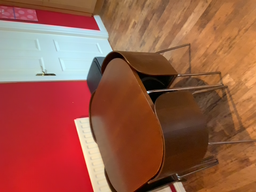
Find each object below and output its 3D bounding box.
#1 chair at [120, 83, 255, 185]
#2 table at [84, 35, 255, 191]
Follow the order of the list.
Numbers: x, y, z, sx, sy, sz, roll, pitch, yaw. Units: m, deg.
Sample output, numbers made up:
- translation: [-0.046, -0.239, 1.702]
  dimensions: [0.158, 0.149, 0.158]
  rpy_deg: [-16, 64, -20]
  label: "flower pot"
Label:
- translation: [0.420, 0.220, 1.420]
  dimensions: [0.430, 0.760, 0.400]
  rpy_deg: [-56, 49, 44]
  label: "chair"
- translation: [0.230, 0.170, 1.720]
  dimensions: [0.860, 0.760, 0.870]
  rpy_deg: [-56, 49, 44]
  label: "table"
